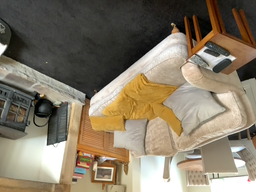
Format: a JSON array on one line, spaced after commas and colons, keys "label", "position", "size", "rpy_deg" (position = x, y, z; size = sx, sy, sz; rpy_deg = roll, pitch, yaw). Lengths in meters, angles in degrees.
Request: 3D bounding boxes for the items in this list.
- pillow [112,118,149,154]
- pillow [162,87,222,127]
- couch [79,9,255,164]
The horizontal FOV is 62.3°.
[{"label": "pillow", "position": [0.020, 0.540, 2.820], "size": [0.180, 0.400, 0.460], "rpy_deg": [2, 164, -42]}, {"label": "pillow", "position": [0.610, 0.120, 2.100], "size": [0.150, 0.290, 0.530], "rpy_deg": [-5, 170, -38]}, {"label": "couch", "position": [0.310, 0.140, 2.500], "size": [1.040, 0.910, 1.760], "rpy_deg": [18, 147, -30]}]
